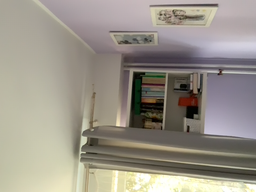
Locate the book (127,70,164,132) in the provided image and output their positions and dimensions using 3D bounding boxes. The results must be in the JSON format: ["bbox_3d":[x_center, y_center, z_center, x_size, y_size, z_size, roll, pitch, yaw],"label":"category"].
[{"bbox_3d":[0.170,0.050,1.960,0.220,0.280,0.520,35,-120,-79],"label":"book"}]
